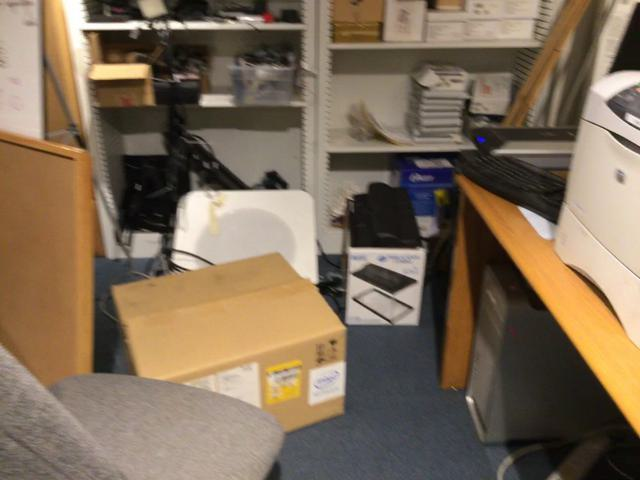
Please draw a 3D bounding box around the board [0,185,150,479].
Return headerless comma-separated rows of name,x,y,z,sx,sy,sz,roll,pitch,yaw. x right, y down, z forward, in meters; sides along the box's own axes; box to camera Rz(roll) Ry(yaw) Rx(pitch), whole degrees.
board,-0.710,0.310,1.570,0.570,0.880,0.090,7,15,34
